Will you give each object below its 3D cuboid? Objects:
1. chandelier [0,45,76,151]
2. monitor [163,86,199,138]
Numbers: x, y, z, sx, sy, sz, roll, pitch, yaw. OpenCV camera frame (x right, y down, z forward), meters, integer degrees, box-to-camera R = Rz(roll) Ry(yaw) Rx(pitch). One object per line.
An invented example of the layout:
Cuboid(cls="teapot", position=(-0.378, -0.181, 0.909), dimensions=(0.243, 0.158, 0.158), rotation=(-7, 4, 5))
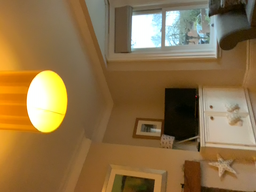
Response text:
Cuboid(cls="chandelier", position=(-0.920, -0.020, 1.570), dimensions=(0.590, 0.760, 0.500), rotation=(-66, -27, -55))
Cuboid(cls="monitor", position=(0.930, 0.290, 3.750), dimensions=(0.070, 0.570, 0.890), rotation=(9, -102, -70))
